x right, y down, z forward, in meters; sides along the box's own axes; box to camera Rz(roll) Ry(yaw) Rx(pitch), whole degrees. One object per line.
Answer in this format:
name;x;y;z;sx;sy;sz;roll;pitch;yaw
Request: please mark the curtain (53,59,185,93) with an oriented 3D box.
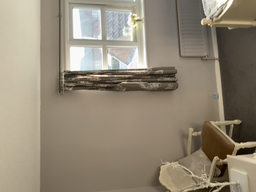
curtain;-0.090;-0.240;2.590;0.210;1.550;0.340;132;136;-75
